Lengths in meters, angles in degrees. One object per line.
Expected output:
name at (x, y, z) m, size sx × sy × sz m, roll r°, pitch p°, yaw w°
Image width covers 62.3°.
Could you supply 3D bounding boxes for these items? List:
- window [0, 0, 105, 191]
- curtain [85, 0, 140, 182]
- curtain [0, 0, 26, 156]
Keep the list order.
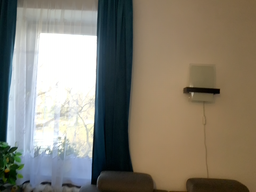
window at (-0.680, 0.060, 1.850) m, size 0.820 × 2.020 × 0.160 m, roll 3°, pitch -1°, yaw 2°
curtain at (-0.120, -0.120, 1.760) m, size 0.350 × 1.580 × 0.130 m, roll 3°, pitch -1°, yaw 5°
curtain at (-1.110, -0.220, 1.810) m, size 0.340 × 1.400 × 0.120 m, roll 3°, pitch -1°, yaw 5°
